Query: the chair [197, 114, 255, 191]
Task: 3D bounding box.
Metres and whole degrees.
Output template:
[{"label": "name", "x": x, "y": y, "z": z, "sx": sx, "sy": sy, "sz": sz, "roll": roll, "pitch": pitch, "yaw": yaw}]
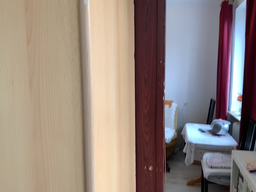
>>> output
[{"label": "chair", "x": 1.060, "y": 0.780, "z": 2.340, "sx": 0.470, "sy": 1.040, "sz": 0.580, "roll": 1, "pitch": 7, "yaw": 11}]
